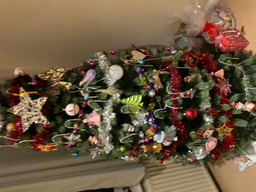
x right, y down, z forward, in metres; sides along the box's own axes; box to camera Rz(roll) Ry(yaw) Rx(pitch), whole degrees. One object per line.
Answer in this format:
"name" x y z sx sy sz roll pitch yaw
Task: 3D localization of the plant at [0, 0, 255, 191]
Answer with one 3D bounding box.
"plant" -0.120 -0.030 1.380 0.920 1.910 1.010 114 145 -43
